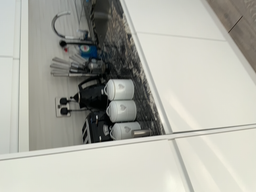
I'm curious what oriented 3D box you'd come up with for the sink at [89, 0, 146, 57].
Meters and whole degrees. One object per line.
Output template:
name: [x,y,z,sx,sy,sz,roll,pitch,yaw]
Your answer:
sink: [-0.110,-0.630,1.630,0.390,0.240,0.500,121,140,-52]
